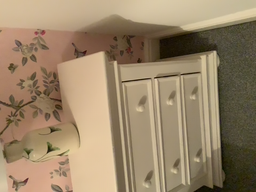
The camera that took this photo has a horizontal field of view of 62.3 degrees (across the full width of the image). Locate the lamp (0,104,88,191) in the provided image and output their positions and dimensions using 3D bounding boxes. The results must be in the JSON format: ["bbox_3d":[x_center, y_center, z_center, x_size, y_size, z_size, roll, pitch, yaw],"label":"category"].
[{"bbox_3d":[-0.380,0.190,0.690,0.230,0.410,0.250,5,102,52],"label":"lamp"}]
